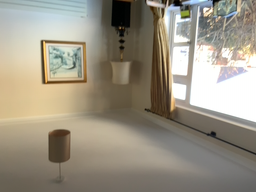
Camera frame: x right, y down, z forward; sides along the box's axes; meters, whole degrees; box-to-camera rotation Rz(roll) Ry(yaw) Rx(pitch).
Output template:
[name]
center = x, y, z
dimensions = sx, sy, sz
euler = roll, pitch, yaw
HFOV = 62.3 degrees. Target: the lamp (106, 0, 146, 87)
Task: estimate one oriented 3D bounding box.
[lamp]
center = -0.050, -1.280, 3.930
dimensions = 0.500, 2.140, 0.520
euler = -4, -168, -31
